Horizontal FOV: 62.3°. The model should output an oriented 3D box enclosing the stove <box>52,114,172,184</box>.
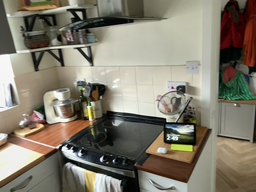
[{"bbox_3d":[-0.090,0.330,1.590,0.640,0.090,0.640,5,20,30],"label":"stove"}]
